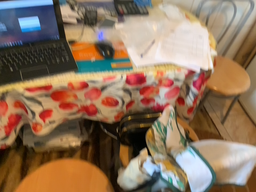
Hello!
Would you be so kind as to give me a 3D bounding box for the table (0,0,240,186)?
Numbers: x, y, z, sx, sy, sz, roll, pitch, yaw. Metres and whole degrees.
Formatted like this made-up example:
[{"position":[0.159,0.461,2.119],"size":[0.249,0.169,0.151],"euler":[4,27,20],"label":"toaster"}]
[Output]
[{"position":[-0.200,-0.030,1.200],"size":[1.130,0.750,0.600],"euler":[-5,49,-14],"label":"table"}]
